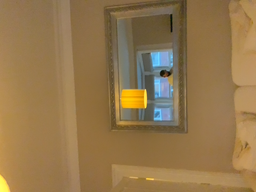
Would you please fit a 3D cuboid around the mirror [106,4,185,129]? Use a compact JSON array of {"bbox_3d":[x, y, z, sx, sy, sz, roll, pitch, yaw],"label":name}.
[{"bbox_3d":[0.220,-0.330,2.670,0.120,0.950,1.470,-17,-74,-76],"label":"mirror"}]
